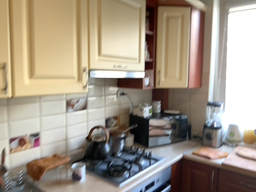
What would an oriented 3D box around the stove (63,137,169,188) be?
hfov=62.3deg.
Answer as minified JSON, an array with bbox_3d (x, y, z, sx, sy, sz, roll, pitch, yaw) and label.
[{"bbox_3d":[-0.080,0.460,1.620,0.560,0.060,0.580,6,7,39],"label":"stove"}]
